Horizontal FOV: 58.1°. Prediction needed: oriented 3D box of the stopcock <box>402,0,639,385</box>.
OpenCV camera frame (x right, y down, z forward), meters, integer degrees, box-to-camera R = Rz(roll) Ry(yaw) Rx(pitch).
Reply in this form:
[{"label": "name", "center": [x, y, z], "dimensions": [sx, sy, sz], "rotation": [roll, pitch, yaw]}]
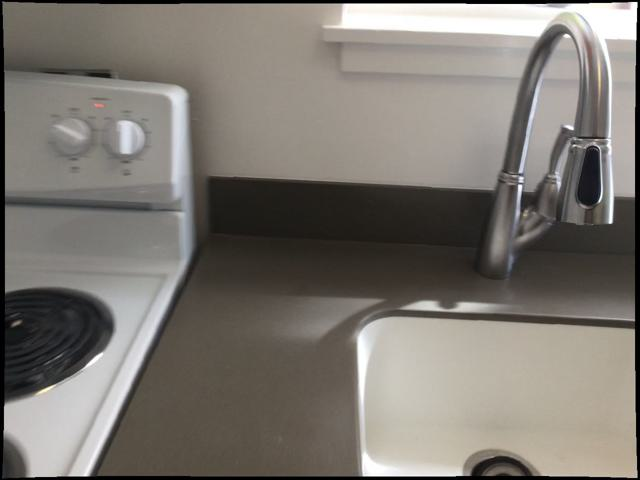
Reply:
[{"label": "stopcock", "center": [0.249, -0.110, 0.770], "dimensions": [0.209, 0.441, 0.380], "rotation": [2, 28, 1]}]
